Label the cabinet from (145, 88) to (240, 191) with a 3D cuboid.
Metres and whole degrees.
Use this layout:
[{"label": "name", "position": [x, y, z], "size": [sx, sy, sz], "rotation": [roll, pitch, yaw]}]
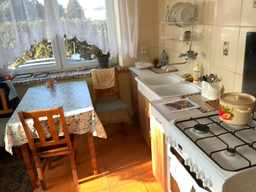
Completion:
[{"label": "cabinet", "position": [0.520, 0.440, 1.880], "size": [0.600, 0.860, 0.450], "rotation": [-8, 21, -11]}]
